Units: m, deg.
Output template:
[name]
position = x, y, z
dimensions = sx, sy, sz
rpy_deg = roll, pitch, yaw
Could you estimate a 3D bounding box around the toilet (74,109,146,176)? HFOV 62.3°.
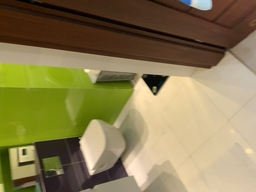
[toilet]
position = -0.210, 0.480, 2.260
dimensions = 0.540, 0.480, 0.400
rpy_deg = -58, 48, 35
